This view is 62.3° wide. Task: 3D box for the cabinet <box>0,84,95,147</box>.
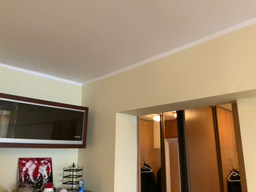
[{"bbox_3d":[-0.930,0.180,1.720,1.400,0.440,0.270,14,-20,-43],"label":"cabinet"}]
